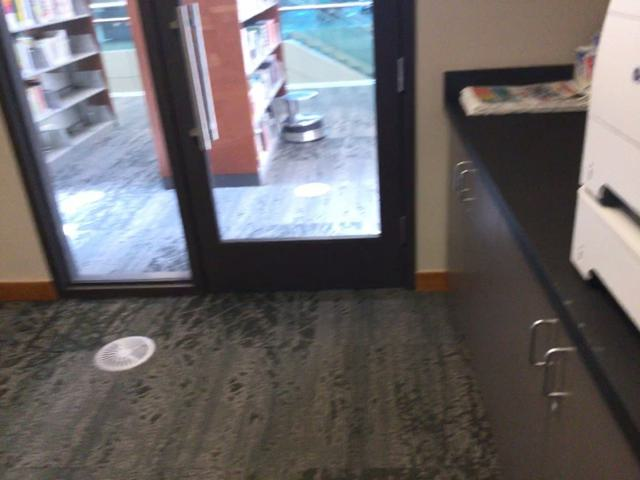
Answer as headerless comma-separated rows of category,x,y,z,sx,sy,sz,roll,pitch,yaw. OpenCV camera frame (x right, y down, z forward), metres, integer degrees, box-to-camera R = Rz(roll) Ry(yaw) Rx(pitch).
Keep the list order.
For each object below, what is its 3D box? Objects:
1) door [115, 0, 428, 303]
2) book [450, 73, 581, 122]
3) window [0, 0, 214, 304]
door,-0.150,-0.470,2.290,1.090,1.540,0.230,0,25,5
book,0.660,-0.500,2.010,0.370,0.100,0.290,0,25,5
window,-0.870,-0.660,2.280,0.610,1.950,0.290,0,25,5
